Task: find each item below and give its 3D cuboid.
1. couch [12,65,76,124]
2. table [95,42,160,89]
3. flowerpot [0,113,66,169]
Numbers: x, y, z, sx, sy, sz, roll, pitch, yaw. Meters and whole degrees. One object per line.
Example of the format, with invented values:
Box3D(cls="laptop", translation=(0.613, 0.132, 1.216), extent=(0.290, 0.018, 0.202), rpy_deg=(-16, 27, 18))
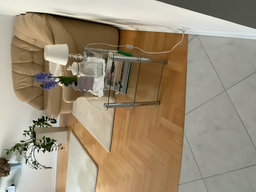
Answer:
Box3D(cls="couch", translation=(-1.530, -0.070, 3.790), extent=(0.860, 0.870, 0.760), rpy_deg=(29, 115, 52))
Box3D(cls="table", translation=(-0.020, -0.280, 1.910), extent=(0.410, 0.390, 0.340), rpy_deg=(26, 113, 53))
Box3D(cls="flowerpot", translation=(-1.840, 0.800, 4.060), extent=(0.680, 1.050, 0.680), rpy_deg=(30, 116, 52))
